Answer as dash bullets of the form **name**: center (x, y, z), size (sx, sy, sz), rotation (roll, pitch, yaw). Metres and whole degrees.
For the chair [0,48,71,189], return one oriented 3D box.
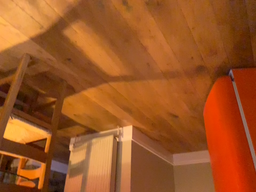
- **chair**: center (-0.790, 0.180, 1.510), size (0.440, 0.820, 0.450), rotation (-15, 146, 26)
